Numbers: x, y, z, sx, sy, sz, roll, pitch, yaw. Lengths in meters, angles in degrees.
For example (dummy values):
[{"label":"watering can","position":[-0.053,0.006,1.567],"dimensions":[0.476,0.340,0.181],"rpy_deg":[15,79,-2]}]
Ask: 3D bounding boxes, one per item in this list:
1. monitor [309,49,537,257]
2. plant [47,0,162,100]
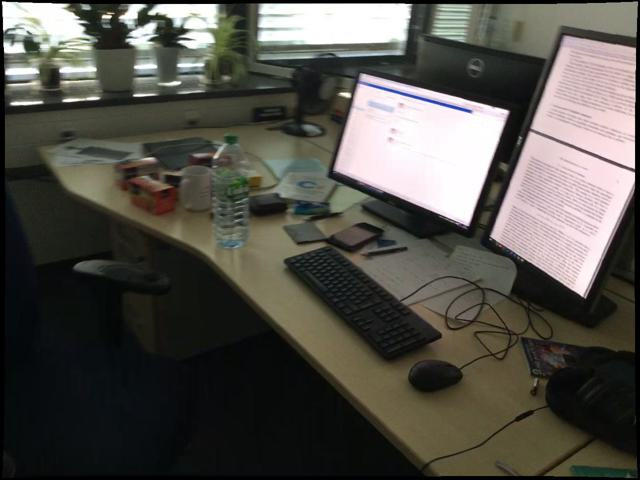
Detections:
[{"label":"monitor","position":[0.260,-0.280,1.690],"dimensions":[0.590,0.420,0.220],"rpy_deg":[27,37,37]},{"label":"plant","position":[-0.859,-0.921,2.270],"dimensions":[0.360,0.661,0.200],"rpy_deg":[-15,33,-29]}]
